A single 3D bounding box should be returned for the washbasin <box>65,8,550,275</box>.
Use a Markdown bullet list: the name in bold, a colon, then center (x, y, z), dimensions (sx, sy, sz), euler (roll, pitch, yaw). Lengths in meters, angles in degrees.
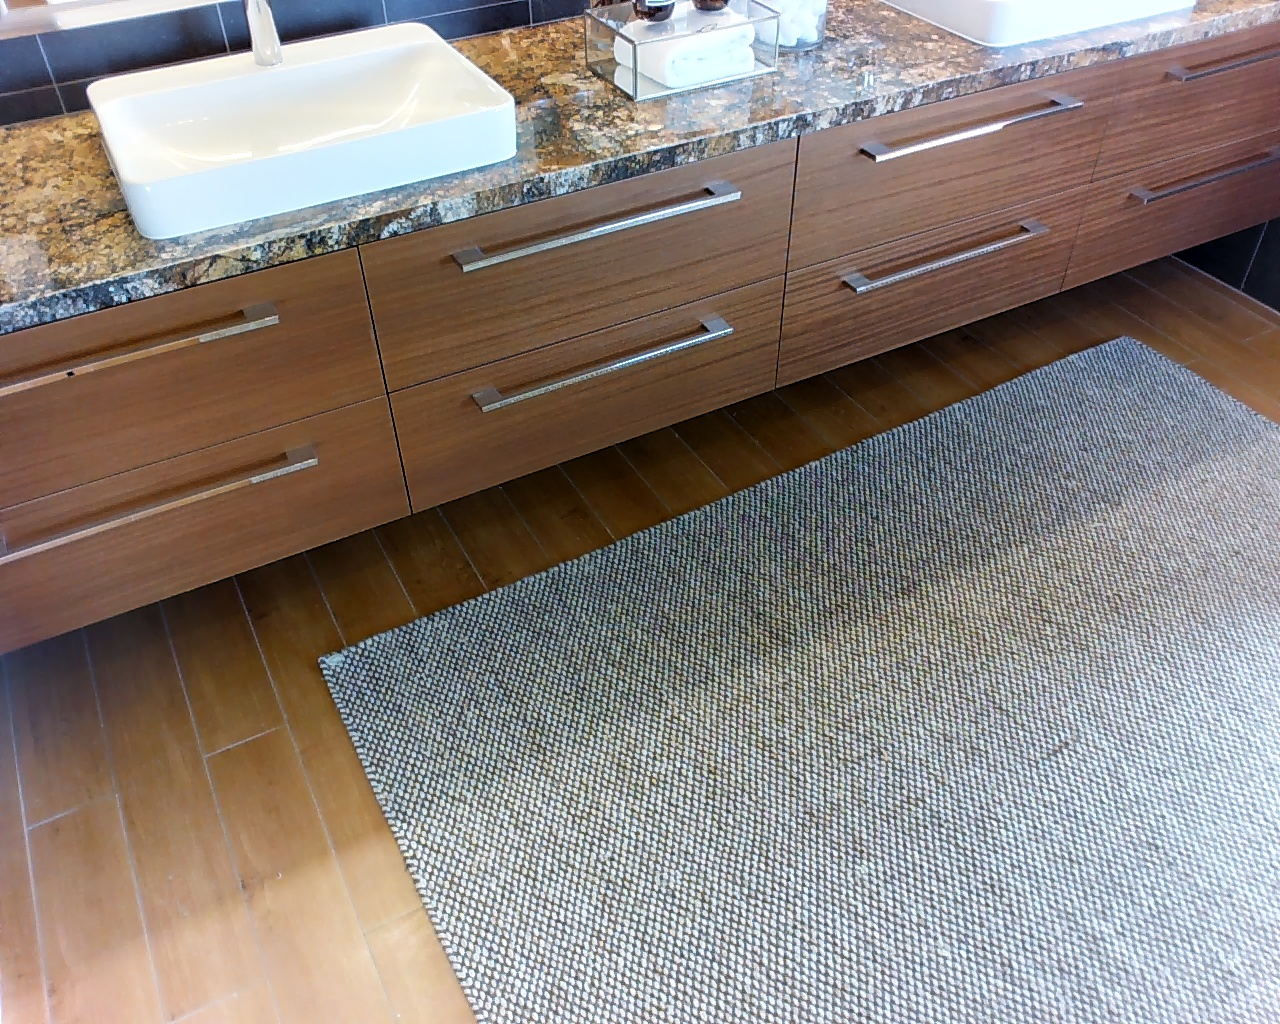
- **washbasin**: center (-0.540, -0.630, 1.750), dimensions (0.640, 0.140, 0.470), euler (-20, 45, -20)
